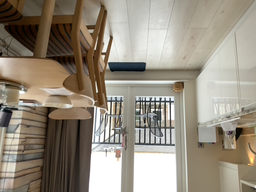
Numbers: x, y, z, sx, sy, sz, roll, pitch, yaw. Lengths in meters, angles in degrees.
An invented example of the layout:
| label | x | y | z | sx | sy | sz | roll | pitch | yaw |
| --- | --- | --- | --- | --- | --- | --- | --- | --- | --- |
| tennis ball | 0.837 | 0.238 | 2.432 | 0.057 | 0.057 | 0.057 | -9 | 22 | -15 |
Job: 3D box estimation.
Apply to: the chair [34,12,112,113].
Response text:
| label | x | y | z | sx | sy | sz | roll | pitch | yaw |
| --- | --- | --- | --- | --- | --- | --- | --- | --- | --- |
| chair | -0.480 | -0.290 | 2.070 | 0.550 | 0.840 | 0.490 | 1 | 169 | 4 |

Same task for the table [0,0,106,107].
| label | x | y | z | sx | sy | sz | roll | pitch | yaw |
| --- | --- | --- | --- | --- | --- | --- | --- | --- | --- |
| table | -0.810 | -0.410 | 1.790 | 0.960 | 0.750 | 1.620 | 1 | 169 | 4 |

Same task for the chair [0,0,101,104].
| label | x | y | z | sx | sy | sz | roll | pitch | yaw |
| --- | --- | --- | --- | --- | --- | --- | --- | --- | --- |
| chair | -0.540 | -0.400 | 1.580 | 0.550 | 0.830 | 0.510 | 1 | 169 | 4 |
